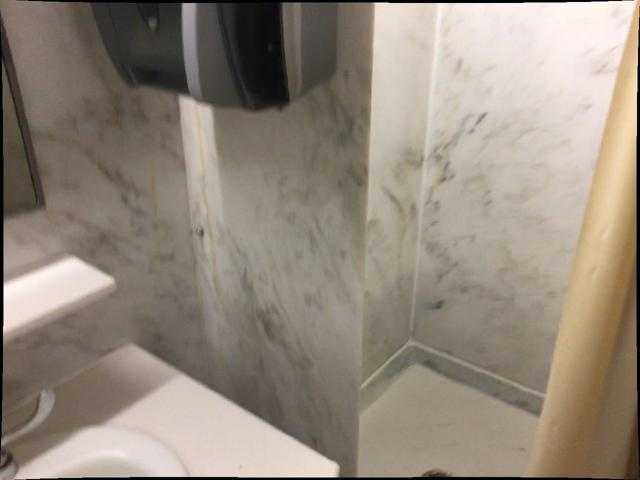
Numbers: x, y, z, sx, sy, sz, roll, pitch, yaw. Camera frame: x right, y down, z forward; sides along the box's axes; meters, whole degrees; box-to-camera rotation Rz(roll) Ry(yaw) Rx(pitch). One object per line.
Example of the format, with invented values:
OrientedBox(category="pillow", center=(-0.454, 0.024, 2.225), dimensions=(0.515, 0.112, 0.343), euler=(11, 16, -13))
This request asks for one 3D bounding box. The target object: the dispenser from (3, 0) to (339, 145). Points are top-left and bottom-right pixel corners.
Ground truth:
OrientedBox(category="dispenser", center=(-0.230, -0.420, 0.870), dimensions=(0.400, 0.420, 0.330), euler=(18, 31, 33))

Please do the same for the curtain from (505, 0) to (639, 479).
OrientedBox(category="curtain", center=(0.609, -0.030, 1.130), dimensions=(0.240, 1.911, 0.190), euler=(3, 26, 8))
